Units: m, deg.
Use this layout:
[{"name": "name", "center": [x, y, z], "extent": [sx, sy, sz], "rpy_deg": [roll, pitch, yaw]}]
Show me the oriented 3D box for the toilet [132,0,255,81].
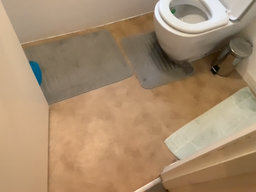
[{"name": "toilet", "center": [0.480, -0.590, 1.310], "extent": [0.660, 0.880, 0.410], "rpy_deg": [-22, 69, -19]}]
